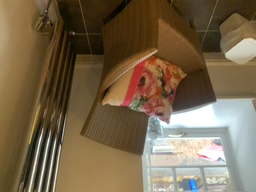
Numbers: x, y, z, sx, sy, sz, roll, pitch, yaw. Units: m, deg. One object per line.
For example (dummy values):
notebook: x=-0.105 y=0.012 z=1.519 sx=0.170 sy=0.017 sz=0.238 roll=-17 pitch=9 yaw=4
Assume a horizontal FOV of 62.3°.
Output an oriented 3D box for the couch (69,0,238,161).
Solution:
couch: x=0.130 y=-0.150 z=1.330 sx=0.620 sy=0.860 sz=0.620 roll=-28 pitch=139 yaw=35
